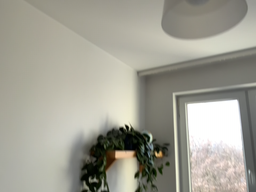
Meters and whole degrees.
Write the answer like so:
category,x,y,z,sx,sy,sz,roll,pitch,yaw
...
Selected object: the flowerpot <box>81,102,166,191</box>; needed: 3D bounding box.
category,x,y,z,sx,sy,sz,roll,pitch,yaw
flowerpot,0.030,0.660,1.960,0.250,1.020,1.030,-7,-16,31
